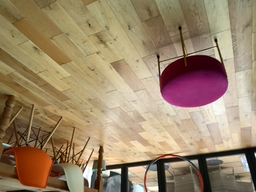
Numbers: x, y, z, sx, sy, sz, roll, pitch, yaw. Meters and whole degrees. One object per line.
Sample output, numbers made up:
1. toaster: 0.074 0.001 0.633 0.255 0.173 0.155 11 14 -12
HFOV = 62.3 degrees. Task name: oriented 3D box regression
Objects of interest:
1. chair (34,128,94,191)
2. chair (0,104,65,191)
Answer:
1. chair: -0.810 0.900 2.780 0.500 0.800 0.420 -11 147 18
2. chair: -1.080 0.590 2.310 0.540 0.770 0.410 -24 141 34
